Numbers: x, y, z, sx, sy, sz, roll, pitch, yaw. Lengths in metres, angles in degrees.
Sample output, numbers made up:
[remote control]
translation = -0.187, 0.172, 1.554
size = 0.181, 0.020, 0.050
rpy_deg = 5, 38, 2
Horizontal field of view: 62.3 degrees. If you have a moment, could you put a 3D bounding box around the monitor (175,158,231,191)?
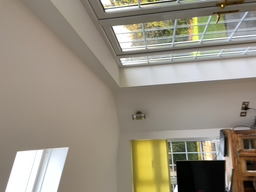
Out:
[monitor]
translation = 1.030, 1.390, 2.900
size = 0.080, 0.700, 1.070
rpy_deg = -45, -49, -80
